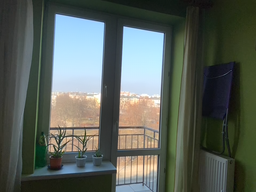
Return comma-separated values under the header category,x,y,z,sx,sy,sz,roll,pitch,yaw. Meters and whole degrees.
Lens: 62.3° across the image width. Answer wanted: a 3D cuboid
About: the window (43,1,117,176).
category,x,y,z,sx,sy,sz,roll,pitch,yaw
window,-0.520,-0.060,2.290,0.660,1.680,0.320,3,0,-20
